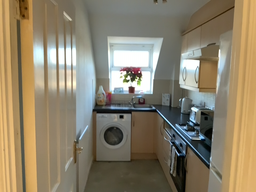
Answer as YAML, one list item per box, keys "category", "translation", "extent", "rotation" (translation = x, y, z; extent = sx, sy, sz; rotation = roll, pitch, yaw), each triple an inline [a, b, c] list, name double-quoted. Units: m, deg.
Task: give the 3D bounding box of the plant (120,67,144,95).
- category: "plant"
  translation: [0.070, -0.300, 4.220]
  extent: [0.460, 0.540, 0.320]
  rotation: [1, 7, -3]

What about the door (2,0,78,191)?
- category: "door"
  translation: [-0.400, 0.450, 1.170]
  extent: [0.040, 1.980, 0.750]
  rotation: [1, 7, 2]

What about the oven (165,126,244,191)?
- category: "oven"
  translation: [0.800, 0.870, 2.390]
  extent: [0.620, 0.930, 0.560]
  rotation: [1, 7, -2]
